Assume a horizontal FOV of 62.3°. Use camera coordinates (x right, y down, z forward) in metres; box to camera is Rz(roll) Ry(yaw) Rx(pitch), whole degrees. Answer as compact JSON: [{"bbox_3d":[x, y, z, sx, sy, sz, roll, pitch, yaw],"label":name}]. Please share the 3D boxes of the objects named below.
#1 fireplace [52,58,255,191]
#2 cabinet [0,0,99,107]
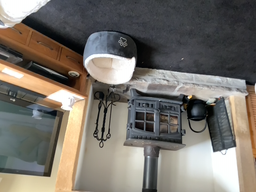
[{"bbox_3d":[0.290,0.520,2.300,1.820,1.540,0.600,7,155,-4],"label":"fireplace"},{"bbox_3d":[-0.850,-0.340,1.920,0.550,0.490,0.960,-17,147,41],"label":"cabinet"}]
